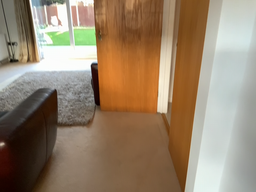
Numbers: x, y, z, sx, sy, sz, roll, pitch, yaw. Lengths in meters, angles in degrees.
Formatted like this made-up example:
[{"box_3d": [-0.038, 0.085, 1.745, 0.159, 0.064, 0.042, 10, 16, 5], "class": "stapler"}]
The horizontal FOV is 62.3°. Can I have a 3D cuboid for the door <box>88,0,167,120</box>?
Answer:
[{"box_3d": [-0.010, -0.650, 2.470, 0.850, 2.060, 0.080, 1, 23, 3], "class": "door"}]
